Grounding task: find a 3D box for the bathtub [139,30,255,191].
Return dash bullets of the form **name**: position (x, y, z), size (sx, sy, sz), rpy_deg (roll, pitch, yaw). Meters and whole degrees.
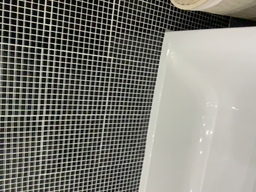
- **bathtub**: position (0.480, 0.560, 1.140), size (0.720, 0.510, 1.670), rpy_deg (25, 110, 59)
